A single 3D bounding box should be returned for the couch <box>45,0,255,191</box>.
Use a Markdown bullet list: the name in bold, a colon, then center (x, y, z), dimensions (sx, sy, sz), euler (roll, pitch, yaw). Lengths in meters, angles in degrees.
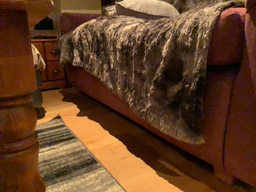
- **couch**: center (0.200, -0.370, 1.310), dimensions (0.940, 0.900, 1.890), euler (-10, 16, -30)
